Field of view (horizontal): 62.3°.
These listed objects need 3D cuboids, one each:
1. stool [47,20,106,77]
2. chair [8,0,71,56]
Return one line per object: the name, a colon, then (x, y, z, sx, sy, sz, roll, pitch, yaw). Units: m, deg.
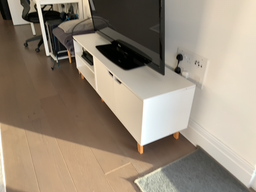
stool: (-0.630, -0.610, 2.620, 0.530, 0.470, 0.550, -15, 36, -25)
chair: (-1.340, -1.210, 3.170, 0.640, 0.930, 0.690, -18, 37, -28)
